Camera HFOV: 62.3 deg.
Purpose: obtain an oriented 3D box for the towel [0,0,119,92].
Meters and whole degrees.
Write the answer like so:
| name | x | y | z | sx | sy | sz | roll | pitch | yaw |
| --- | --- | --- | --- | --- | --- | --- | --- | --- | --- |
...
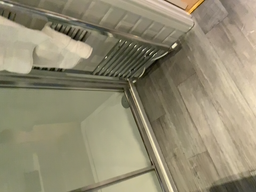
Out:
| name | x | y | z | sx | sy | sz | roll | pitch | yaw |
| --- | --- | --- | --- | --- | --- | --- | --- | --- | --- |
| towel | -0.540 | -0.200 | 0.830 | 0.410 | 0.950 | 0.180 | -37 | 64 | 41 |
